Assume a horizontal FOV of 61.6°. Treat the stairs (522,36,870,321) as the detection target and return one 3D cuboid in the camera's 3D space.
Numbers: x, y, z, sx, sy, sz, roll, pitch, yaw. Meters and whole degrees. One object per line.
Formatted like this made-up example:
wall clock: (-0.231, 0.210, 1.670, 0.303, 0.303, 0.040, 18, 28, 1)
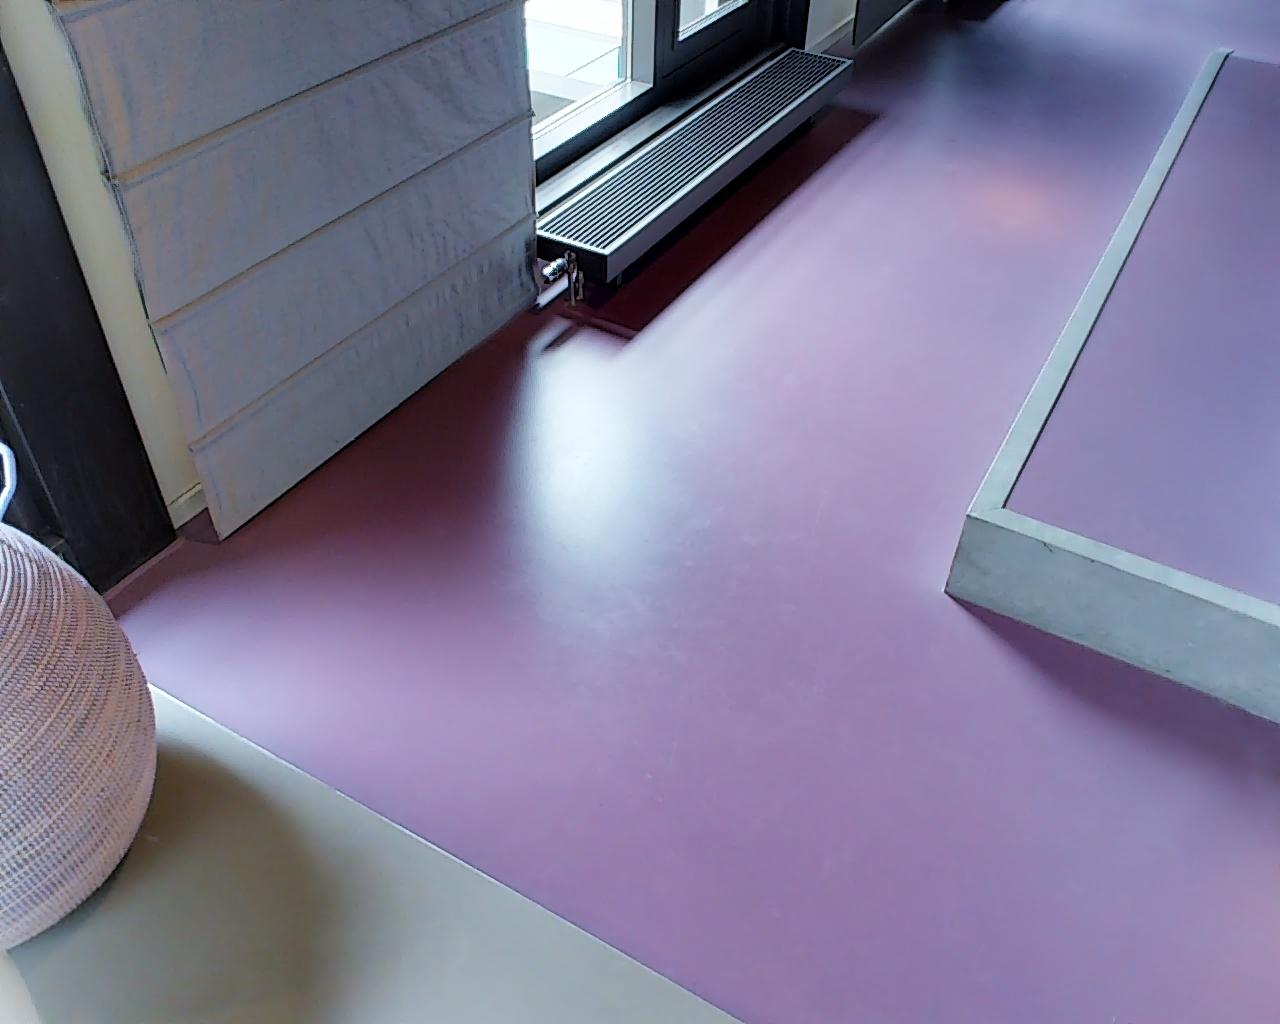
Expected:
stairs: (0.250, -1.080, 3.240, 0.230, 0.170, 1.760, 22, 46, 21)
